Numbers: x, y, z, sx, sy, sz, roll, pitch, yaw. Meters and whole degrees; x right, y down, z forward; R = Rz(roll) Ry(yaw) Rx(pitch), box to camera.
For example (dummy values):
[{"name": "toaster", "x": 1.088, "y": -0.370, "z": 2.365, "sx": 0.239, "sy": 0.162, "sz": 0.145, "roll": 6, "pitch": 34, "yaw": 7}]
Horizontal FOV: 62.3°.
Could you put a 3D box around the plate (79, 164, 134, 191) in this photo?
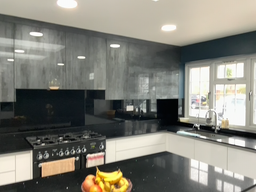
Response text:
[{"name": "plate", "x": -0.140, "y": 0.550, "z": 1.350, "sx": 0.270, "sy": 0.110, "sz": 0.240, "roll": -1, "pitch": 1, "yaw": -36}]
